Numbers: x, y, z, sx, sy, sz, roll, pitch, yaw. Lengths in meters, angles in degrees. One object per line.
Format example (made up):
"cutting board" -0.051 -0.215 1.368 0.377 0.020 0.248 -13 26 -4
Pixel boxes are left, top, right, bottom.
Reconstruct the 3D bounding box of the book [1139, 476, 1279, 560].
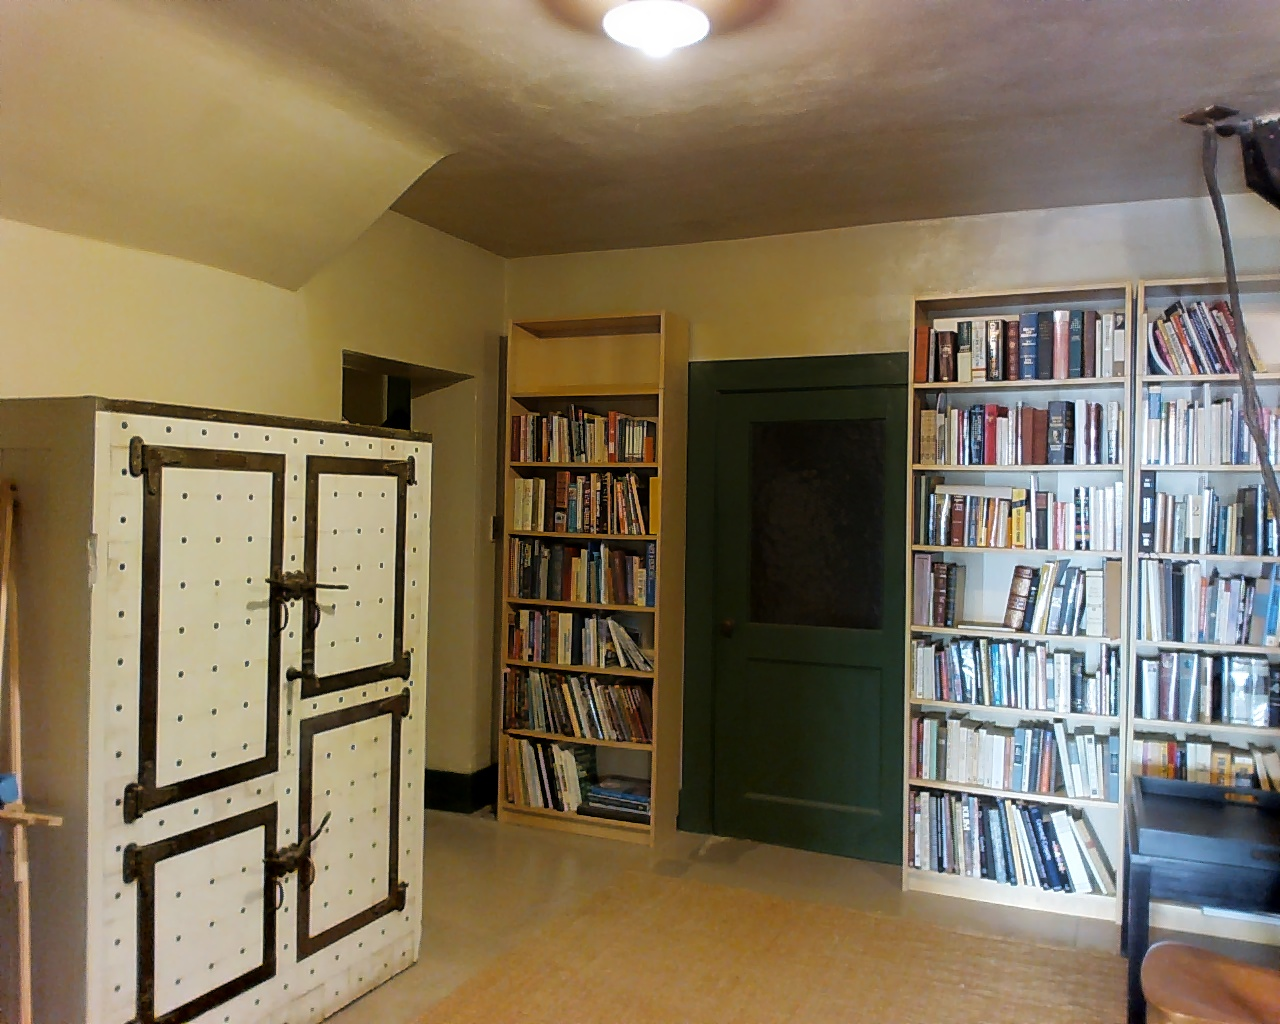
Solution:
"book" 2.200 0.020 3.890 0.710 0.290 0.270 1 1 23

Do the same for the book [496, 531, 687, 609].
"book" -0.230 0.260 5.030 0.850 0.310 0.290 1 1 25

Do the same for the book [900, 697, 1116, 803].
"book" 1.460 0.930 4.280 0.780 0.270 0.330 1 1 23

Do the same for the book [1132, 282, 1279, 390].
"book" 2.220 -0.630 3.900 0.790 0.320 0.390 1 1 24
